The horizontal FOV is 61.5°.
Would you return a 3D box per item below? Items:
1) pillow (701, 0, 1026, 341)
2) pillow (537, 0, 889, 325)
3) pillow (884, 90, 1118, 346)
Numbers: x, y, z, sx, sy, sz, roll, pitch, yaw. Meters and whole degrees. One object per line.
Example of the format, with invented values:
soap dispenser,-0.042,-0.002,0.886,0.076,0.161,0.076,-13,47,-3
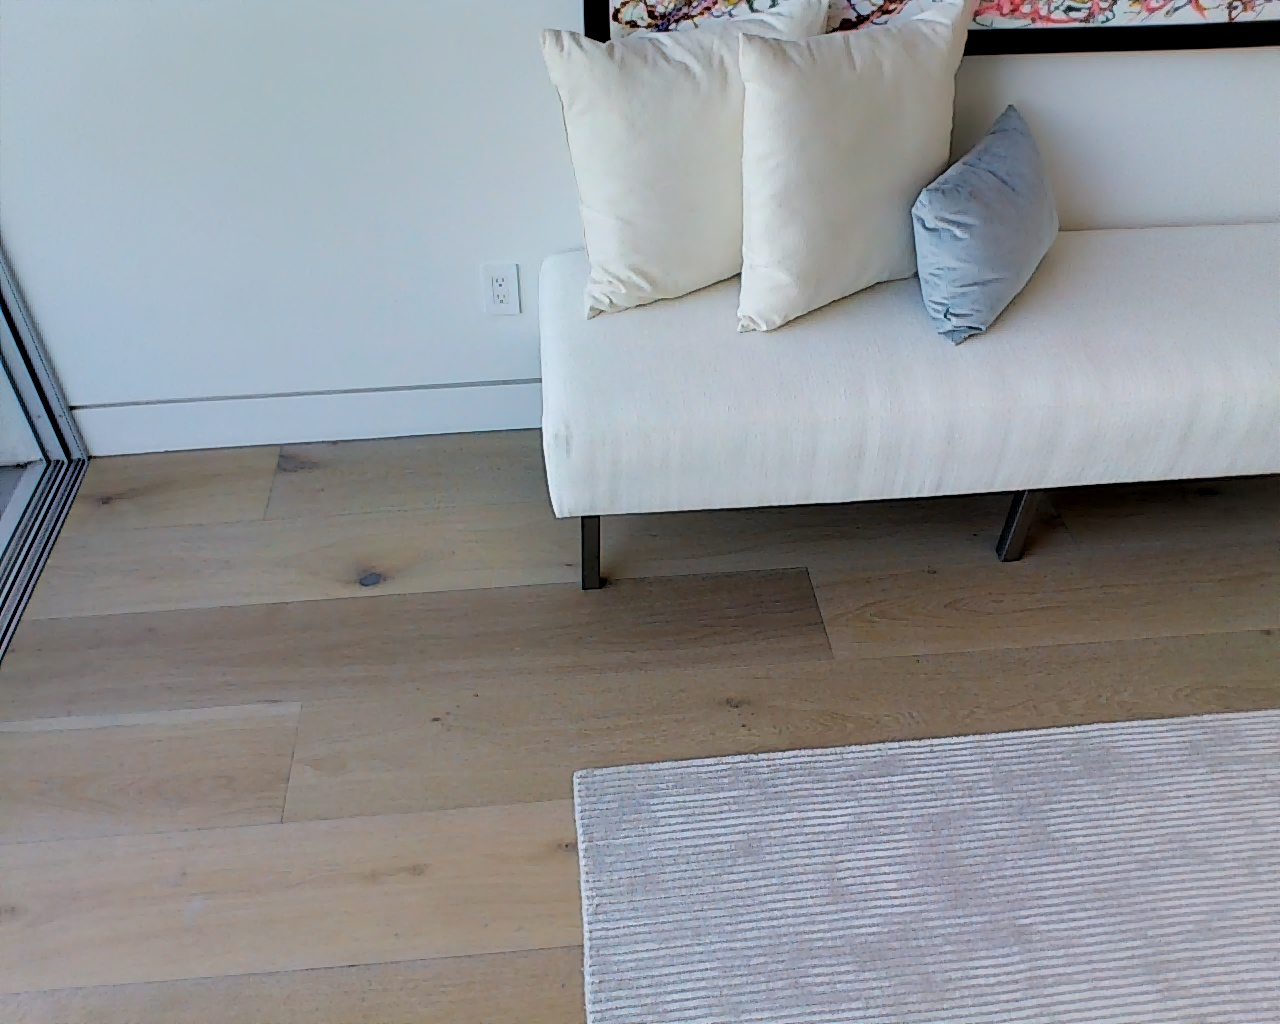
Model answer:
pillow,0.370,-0.640,1.930,0.440,0.530,0.240,-16,46,-16
pillow,0.120,-0.720,1.990,0.520,0.560,0.300,-18,47,-17
pillow,0.670,-0.570,2.050,0.340,0.270,0.420,8,45,9
